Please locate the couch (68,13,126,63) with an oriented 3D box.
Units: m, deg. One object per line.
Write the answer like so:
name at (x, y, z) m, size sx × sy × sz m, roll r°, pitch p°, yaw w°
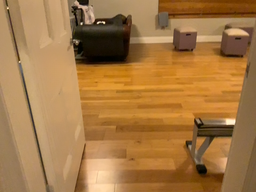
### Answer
couch at (-0.600, -1.480, 5.030) m, size 1.040 × 0.810 × 2.220 m, roll -1°, pitch 24°, yaw -2°
